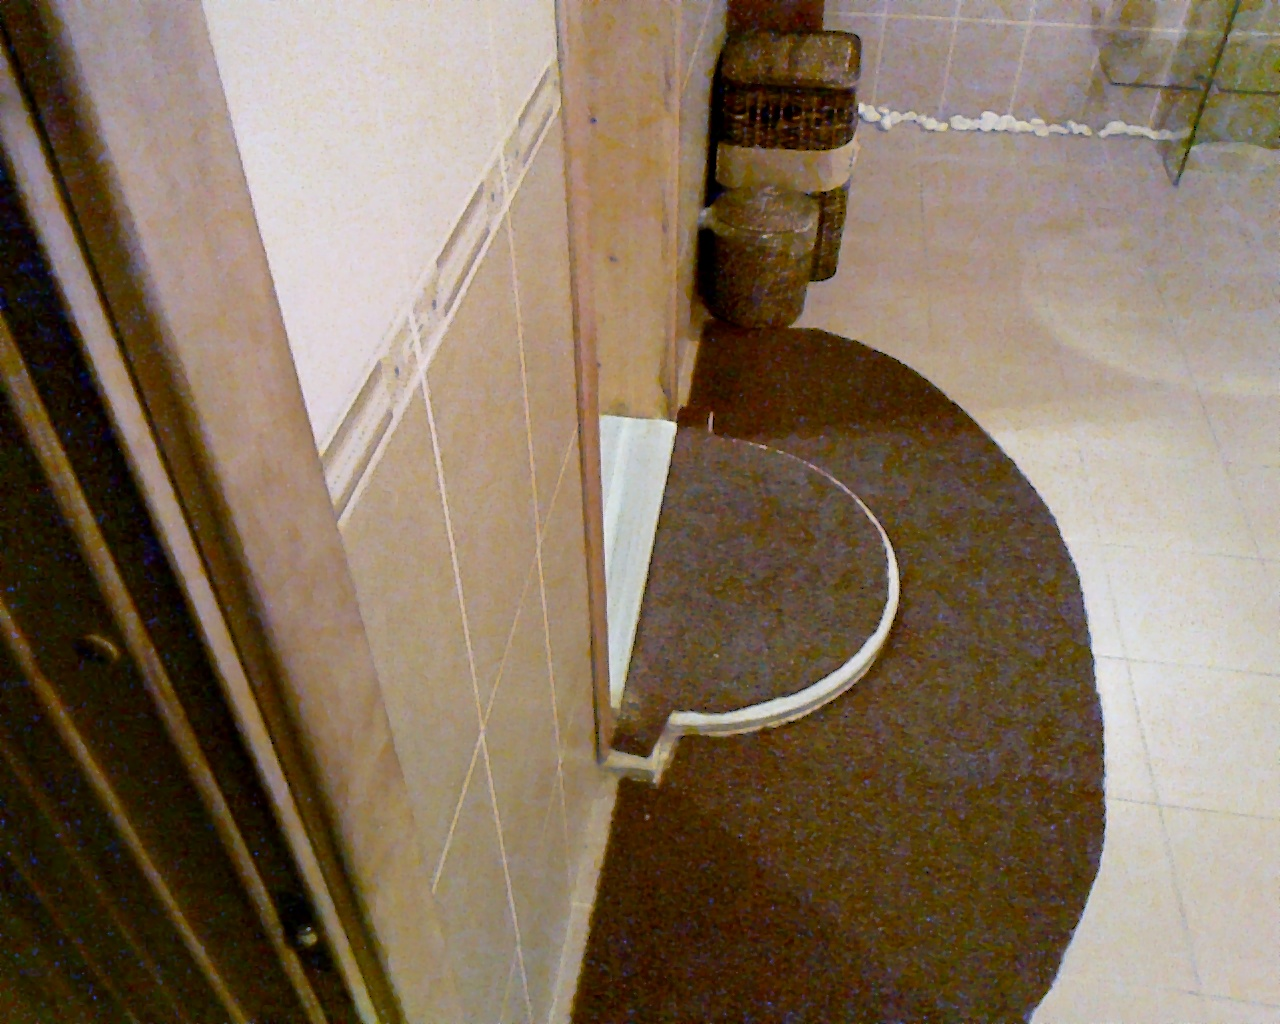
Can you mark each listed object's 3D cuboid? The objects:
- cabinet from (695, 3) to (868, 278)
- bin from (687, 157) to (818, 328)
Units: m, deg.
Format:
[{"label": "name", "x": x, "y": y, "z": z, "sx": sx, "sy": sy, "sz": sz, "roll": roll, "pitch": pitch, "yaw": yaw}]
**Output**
[{"label": "cabinet", "x": 0.410, "y": -1.090, "z": 3.160, "sx": 0.430, "sy": 0.600, "sz": 0.490, "roll": 5, "pitch": 42, "yaw": 7}, {"label": "bin", "x": 0.310, "y": -0.750, "z": 2.990, "sx": 0.320, "sy": 0.340, "sz": 0.300, "roll": 5, "pitch": 42, "yaw": 7}]
